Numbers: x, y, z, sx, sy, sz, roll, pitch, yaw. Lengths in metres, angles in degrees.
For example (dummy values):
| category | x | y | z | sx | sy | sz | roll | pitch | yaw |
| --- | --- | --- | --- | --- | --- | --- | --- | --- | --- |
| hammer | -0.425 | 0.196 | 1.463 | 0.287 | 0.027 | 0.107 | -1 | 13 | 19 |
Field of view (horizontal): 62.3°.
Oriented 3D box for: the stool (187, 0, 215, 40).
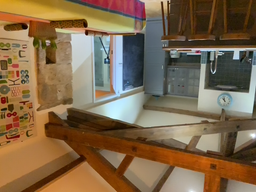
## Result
| category | x | y | z | sx | sy | sz | roll | pitch | yaw |
| --- | --- | --- | --- | --- | --- | --- | --- | --- | --- |
| stool | 1.070 | -1.240 | 3.060 | 0.290 | 0.800 | 0.300 | 8 | -167 | 29 |

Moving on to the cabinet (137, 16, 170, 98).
| category | x | y | z | sx | sy | sz | roll | pitch | yaw |
| --- | --- | --- | --- | --- | --- | --- | --- | --- | --- |
| cabinet | 0.770 | -1.160 | 6.410 | 0.680 | 2.270 | 0.670 | 7 | -167 | 28 |
